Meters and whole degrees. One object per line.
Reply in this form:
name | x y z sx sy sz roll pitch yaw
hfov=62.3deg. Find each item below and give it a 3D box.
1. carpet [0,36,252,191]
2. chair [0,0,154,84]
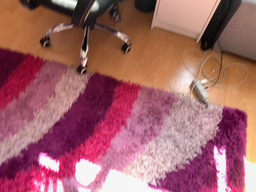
carpet | -0.430 0.490 0.980 1.940 0.040 1.570 18 63 4
chair | -0.220 -0.650 1.110 0.620 0.840 0.660 25 64 7
